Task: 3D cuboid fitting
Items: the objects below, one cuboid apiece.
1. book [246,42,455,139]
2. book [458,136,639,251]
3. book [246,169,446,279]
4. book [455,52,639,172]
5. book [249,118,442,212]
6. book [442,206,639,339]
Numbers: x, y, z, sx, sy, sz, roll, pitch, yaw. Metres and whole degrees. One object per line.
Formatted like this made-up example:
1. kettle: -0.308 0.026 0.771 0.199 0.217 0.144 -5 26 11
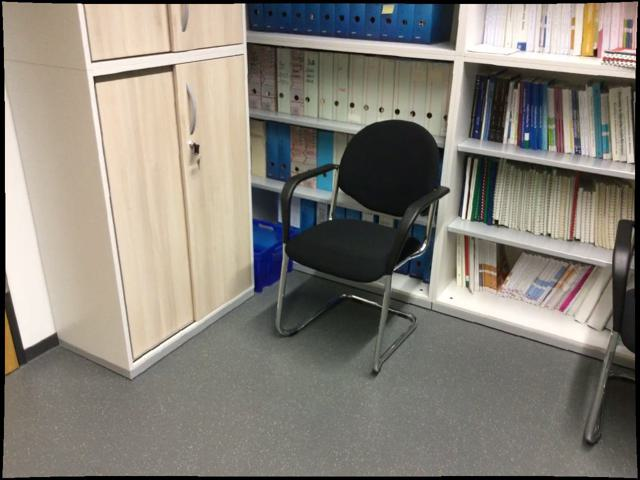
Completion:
1. book: 0.100 -0.721 2.730 1.059 0.340 0.040 14 29 27
2. book: 1.049 -0.220 2.520 0.789 0.300 0.290 14 29 27
3. book: 0.110 -0.110 3.080 1.049 0.310 0.250 14 29 27
4. book: 1.179 -0.501 2.260 1.169 0.330 0.420 14 29 27
5. book: 0.090 -0.390 2.880 1.019 0.300 0.080 14 29 27
6. book: 1.039 0.120 2.630 0.859 0.300 0.330 14 29 27
